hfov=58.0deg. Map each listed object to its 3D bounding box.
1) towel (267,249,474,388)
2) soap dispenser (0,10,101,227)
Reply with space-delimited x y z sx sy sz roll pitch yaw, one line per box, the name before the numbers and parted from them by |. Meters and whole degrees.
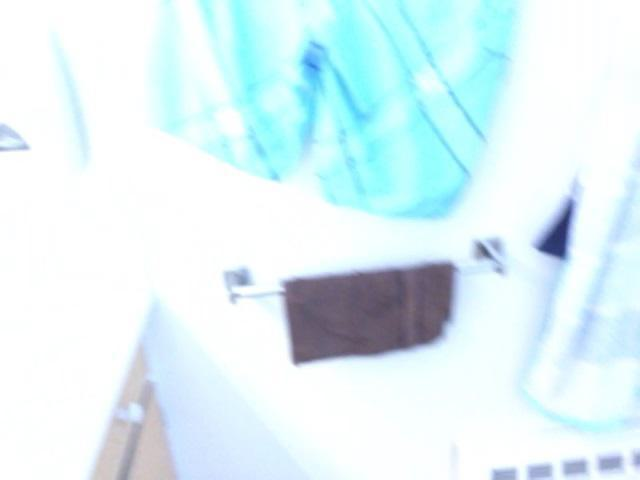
towel | 0.090 0.140 1.030 0.340 0.180 0.100 -7 27 1
soap dispenser | -0.450 -0.170 0.830 0.160 0.270 0.120 -7 27 1
